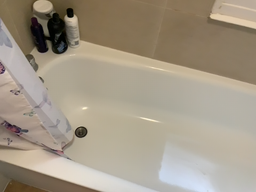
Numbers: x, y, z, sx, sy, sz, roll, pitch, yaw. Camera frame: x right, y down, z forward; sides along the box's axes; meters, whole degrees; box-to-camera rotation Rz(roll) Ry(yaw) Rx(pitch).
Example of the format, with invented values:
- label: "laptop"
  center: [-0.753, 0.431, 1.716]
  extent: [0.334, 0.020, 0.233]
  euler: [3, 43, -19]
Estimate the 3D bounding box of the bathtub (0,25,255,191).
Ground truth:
- label: "bathtub"
  center: [0.270, 0.280, 1.130]
  extent: [1.740, 0.560, 0.690]
  euler: [16, 55, 3]
